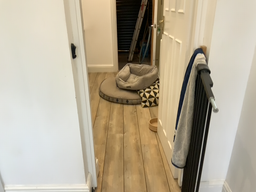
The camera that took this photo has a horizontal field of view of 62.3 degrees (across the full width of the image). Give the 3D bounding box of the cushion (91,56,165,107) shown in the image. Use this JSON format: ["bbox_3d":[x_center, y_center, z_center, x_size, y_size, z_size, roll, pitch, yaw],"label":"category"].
[{"bbox_3d":[0.000,-0.280,3.410,0.980,0.440,1.150,0,25,0],"label":"cushion"}]

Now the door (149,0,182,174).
[{"bbox_3d":[0.290,-0.420,1.820,0.060,2.030,0.860,0,25,0],"label":"door"}]
